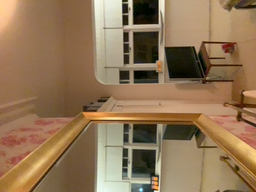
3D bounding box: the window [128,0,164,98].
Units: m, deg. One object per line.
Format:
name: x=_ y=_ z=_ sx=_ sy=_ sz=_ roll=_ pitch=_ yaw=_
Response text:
window: x=0.370 y=-1.550 z=4.550 sx=0.330 sy=0.730 sz=3.180 roll=-80 pitch=-10 yaw=-80
